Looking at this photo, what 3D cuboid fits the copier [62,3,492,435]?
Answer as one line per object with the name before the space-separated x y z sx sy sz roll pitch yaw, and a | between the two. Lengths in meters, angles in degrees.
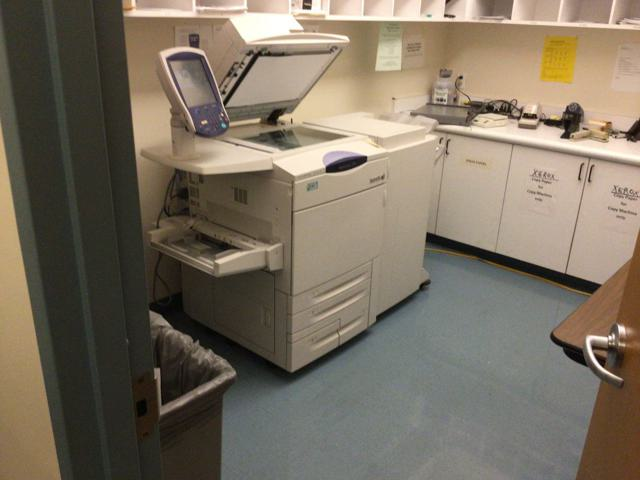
copier | -0.080 -0.300 2.760 0.900 1.470 1.660 20 31 37
